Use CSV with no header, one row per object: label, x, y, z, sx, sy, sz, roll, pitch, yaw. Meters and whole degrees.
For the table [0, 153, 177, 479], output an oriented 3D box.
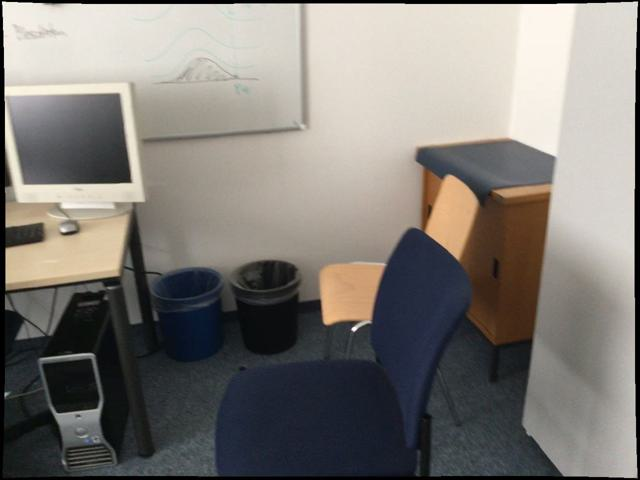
table,-1.568,0.340,1.860,2.048,0.781,1.150,-7,24,-10
